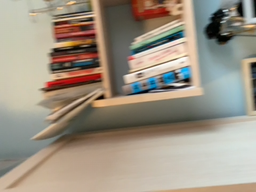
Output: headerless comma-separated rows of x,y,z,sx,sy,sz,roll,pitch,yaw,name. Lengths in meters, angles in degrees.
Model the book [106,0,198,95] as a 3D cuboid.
0.080,-0.230,0.810,0.200,0.270,0.420,-20,-77,-86,book
